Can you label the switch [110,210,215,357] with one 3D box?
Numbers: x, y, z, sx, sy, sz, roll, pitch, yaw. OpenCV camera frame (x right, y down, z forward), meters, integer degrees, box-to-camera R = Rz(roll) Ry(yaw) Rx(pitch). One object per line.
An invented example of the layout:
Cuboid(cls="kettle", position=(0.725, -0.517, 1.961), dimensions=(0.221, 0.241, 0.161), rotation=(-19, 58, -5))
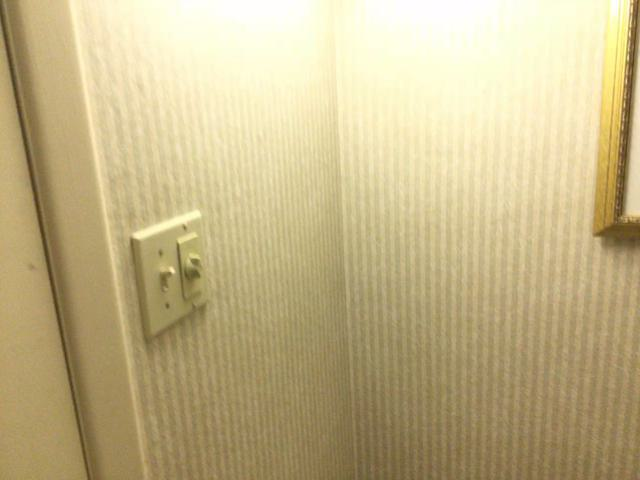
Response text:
Cuboid(cls="switch", position=(-0.160, 0.040, 0.610), dimensions=(0.020, 0.120, 0.130), rotation=(3, 15, 22))
